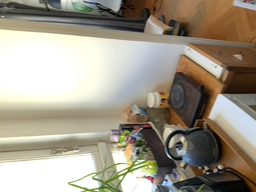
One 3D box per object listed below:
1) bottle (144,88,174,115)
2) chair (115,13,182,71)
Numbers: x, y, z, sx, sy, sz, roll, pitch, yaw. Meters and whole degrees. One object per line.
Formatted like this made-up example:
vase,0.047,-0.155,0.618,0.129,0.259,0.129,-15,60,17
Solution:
bottle,0.230,0.040,1.590,0.110,0.150,0.170,-116,32,-51
chair,0.250,-0.770,3.020,0.580,0.680,0.630,-123,37,-57
